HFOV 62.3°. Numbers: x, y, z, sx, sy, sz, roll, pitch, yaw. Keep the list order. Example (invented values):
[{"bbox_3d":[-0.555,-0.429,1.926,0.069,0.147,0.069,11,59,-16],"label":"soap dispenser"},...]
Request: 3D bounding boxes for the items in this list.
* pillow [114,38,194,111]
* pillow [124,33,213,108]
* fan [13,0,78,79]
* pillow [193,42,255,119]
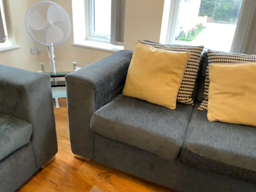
[{"bbox_3d":[0.200,-0.150,1.510,0.470,0.440,0.200,10,50,22],"label":"pillow"},{"bbox_3d":[0.310,-0.200,1.680,0.590,0.470,0.200,14,51,21],"label":"pillow"},{"bbox_3d":[-0.820,-0.610,2.180,0.510,0.730,0.430,-6,27,-20],"label":"fan"},{"bbox_3d":[0.740,-0.090,1.440,0.500,0.460,0.190,11,51,19],"label":"pillow"}]
